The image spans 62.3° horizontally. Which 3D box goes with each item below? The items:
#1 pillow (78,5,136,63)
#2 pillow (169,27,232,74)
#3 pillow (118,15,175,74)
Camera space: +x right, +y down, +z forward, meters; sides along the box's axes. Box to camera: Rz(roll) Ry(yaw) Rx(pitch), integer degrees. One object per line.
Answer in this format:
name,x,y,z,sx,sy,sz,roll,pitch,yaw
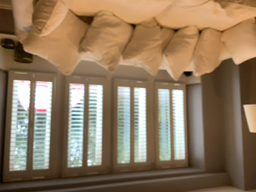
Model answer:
pillow,-0.200,-0.550,1.940,0.460,0.430,0.210,3,-166,-18
pillow,0.800,-0.510,2.380,0.520,0.430,0.280,2,-161,-21
pillow,0.170,-0.510,2.170,0.430,0.510,0.210,1,-151,-22
